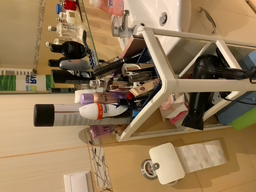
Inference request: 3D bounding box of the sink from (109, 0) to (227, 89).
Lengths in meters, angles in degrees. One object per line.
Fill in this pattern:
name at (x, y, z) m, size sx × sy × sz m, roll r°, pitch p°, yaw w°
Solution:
sink at (0.110, -0.390, 0.970) m, size 0.430 × 0.140 × 0.570 m, roll -53°, pitch 46°, yaw 49°
